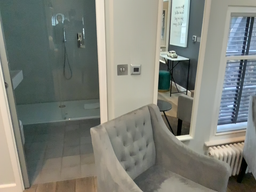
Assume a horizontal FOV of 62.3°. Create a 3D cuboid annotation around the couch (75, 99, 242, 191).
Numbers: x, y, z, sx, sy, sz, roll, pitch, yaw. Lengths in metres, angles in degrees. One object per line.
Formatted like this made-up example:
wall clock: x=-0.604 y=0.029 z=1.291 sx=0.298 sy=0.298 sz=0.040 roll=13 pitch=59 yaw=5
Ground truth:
couch: x=0.190 y=0.610 z=1.390 sx=0.700 sy=0.900 sz=0.700 roll=16 pitch=25 yaw=38
